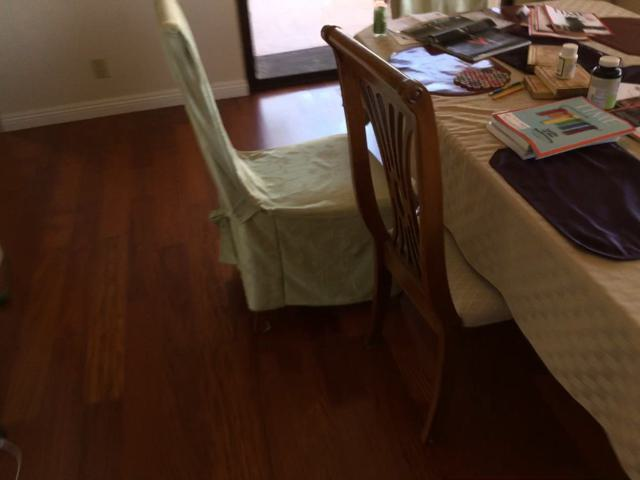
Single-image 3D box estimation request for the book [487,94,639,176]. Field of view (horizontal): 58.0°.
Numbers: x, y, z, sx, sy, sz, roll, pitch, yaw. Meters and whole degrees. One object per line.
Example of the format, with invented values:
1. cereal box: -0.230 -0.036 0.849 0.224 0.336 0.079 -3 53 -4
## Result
1. book: 0.600 -0.260 1.400 0.310 0.070 0.210 -11 34 -7
